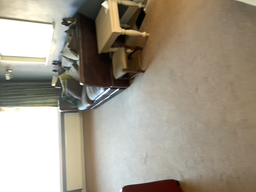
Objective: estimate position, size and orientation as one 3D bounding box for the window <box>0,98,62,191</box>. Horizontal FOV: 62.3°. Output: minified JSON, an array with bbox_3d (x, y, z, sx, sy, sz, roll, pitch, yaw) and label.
[{"bbox_3d":[-2.490,1.490,5.330,0.190,1.550,2.870,153,115,-62],"label":"window"}]
